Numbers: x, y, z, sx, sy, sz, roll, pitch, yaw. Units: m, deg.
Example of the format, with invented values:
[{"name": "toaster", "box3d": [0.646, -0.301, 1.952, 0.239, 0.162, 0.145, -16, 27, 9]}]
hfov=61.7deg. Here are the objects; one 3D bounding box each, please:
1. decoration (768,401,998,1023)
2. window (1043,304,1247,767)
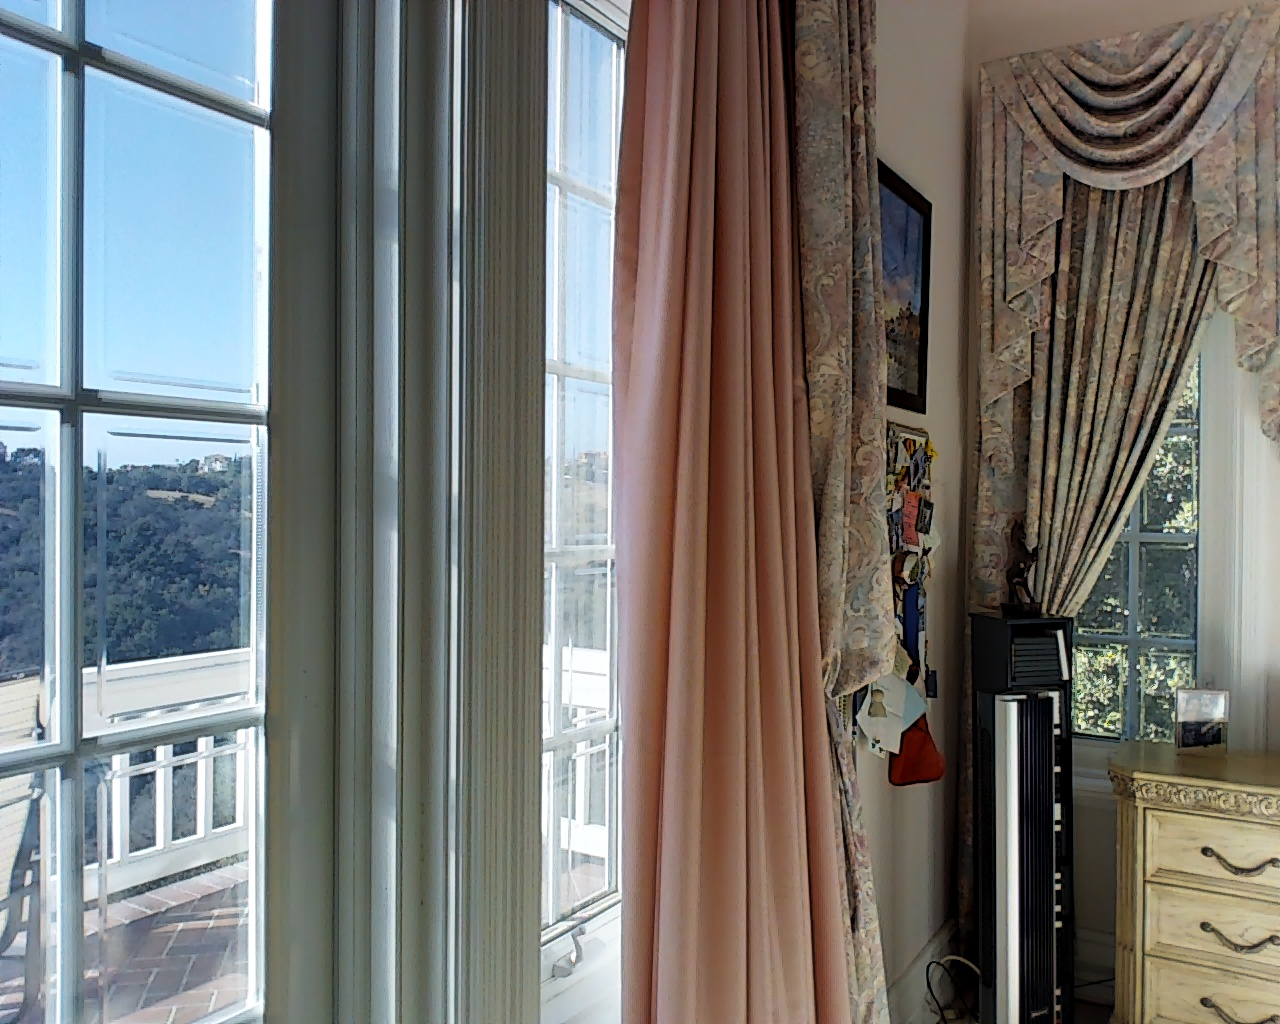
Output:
[{"name": "decoration", "box3d": [0.650, 0.410, 2.660, 0.140, 1.270, 1.160, 1, 1, 33]}, {"name": "window", "box3d": [1.430, 0.060, 3.050, 0.490, 1.240, 0.120, 1, 1, 33]}]
